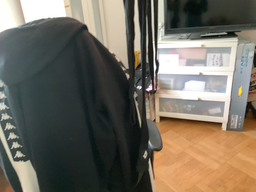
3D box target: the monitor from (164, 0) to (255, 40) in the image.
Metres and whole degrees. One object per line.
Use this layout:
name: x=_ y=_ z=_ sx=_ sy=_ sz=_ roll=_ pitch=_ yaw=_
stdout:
monitor: x=0.830 y=-0.890 z=2.070 sx=0.950 sy=0.630 sz=0.050 roll=2 pitch=25 yaw=15
